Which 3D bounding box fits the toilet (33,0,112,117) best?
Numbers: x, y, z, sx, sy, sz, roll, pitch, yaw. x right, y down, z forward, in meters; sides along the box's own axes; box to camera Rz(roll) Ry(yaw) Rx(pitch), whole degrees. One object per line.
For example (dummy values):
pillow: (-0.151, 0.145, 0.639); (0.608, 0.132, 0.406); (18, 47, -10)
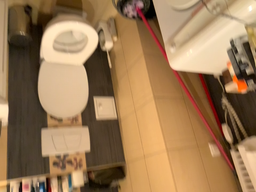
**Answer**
toilet: (-0.450, -0.330, 1.530); (0.350, 0.820, 0.530); (1, 157, -31)
